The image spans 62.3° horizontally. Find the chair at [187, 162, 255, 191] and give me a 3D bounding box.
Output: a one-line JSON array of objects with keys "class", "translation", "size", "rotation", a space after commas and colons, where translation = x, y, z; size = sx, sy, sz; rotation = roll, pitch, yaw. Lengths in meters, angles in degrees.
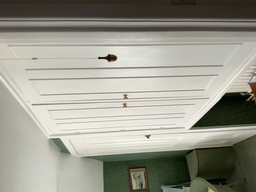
[{"class": "chair", "translation": [1.130, 1.200, 2.460], "size": [0.660, 0.630, 0.630], "rotation": [170, 98, -83]}]
